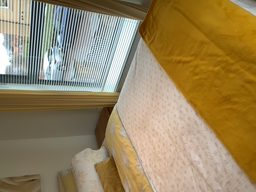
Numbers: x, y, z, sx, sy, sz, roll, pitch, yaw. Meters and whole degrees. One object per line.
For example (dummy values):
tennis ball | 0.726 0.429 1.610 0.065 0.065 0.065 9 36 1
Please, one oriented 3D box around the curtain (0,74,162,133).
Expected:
curtain | -0.820 0.100 2.230 0.580 2.460 0.250 -61 38 41
